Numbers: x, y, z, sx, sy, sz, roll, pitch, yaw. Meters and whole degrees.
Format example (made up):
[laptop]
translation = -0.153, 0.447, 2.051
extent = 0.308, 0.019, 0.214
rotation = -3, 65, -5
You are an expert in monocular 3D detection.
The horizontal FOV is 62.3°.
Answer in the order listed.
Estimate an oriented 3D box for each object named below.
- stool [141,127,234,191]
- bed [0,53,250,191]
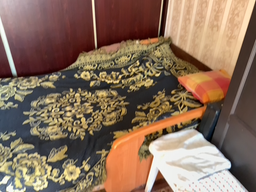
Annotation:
[stool]
translation = 0.300, 0.480, 1.220
extent = 0.320, 0.450, 0.310
rotation = -10, 36, -17
[bed]
translation = -0.310, 0.160, 1.710
extent = 1.920, 0.380, 1.250
rotation = -10, 36, -18
